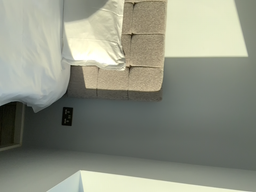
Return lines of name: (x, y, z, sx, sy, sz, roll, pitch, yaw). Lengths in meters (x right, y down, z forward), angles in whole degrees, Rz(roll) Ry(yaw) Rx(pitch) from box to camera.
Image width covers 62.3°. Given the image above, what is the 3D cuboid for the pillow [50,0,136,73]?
pillow: (-0.210, -0.610, 1.470, 0.170, 0.500, 0.830, 148, -53, -79)
